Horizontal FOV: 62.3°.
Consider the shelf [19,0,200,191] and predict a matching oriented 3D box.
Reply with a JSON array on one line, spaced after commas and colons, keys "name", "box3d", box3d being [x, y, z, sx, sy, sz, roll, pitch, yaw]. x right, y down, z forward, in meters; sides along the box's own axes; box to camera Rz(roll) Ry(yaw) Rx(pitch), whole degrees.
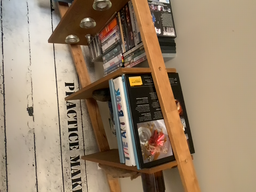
[{"name": "shelf", "box3d": [-0.200, -0.440, 1.000, 0.470, 1.510, 0.680, -1, 172, -34]}]
